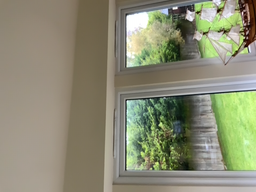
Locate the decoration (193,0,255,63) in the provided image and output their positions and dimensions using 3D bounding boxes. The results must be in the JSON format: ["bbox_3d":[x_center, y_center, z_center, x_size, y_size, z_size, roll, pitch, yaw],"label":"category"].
[{"bbox_3d":[0.850,-0.690,1.800,0.270,0.510,0.710,52,-144,-67],"label":"decoration"}]
